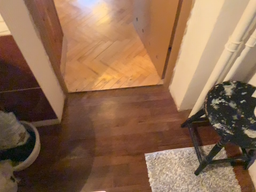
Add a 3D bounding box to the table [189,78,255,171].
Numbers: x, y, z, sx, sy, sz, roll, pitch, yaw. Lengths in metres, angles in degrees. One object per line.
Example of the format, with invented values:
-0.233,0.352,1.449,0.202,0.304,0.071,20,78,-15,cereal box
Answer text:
0.550,0.170,1.150,0.250,0.410,0.330,-4,56,-4,table
